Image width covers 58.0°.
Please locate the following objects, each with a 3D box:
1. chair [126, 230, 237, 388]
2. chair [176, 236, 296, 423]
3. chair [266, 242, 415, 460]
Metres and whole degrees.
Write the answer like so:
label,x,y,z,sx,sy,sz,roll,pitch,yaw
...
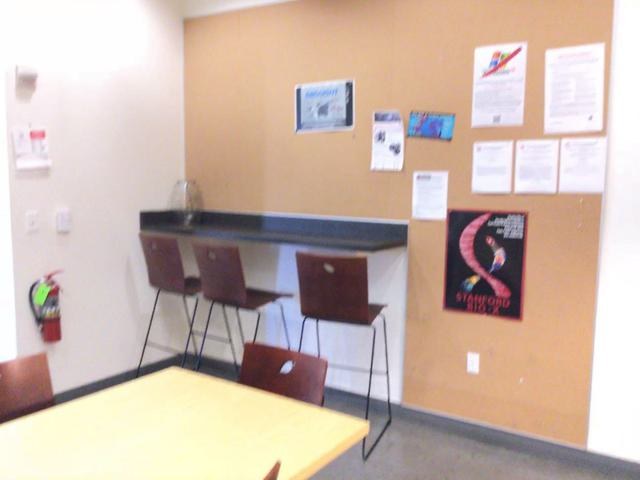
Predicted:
label,x,y,z,sx,sy,sz,roll,pitch,yaw
chair,-0.970,0.440,4.040,0.550,0.950,0.490,8,8,36
chair,-0.530,0.520,3.670,0.450,1.030,0.560,8,8,39
chair,0.130,0.570,3.300,0.530,1.040,0.590,9,5,26
